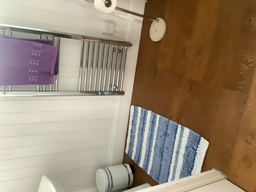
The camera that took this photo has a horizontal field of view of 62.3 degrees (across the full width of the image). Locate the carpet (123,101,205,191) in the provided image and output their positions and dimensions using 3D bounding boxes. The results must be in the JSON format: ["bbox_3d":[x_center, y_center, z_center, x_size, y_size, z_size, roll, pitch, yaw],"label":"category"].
[{"bbox_3d":[0.200,0.390,1.630,0.840,0.001,0.510,25,111,55],"label":"carpet"}]

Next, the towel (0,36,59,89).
[{"bbox_3d":[-0.680,-0.220,1.350,0.160,0.420,0.300,24,117,56],"label":"towel"}]
